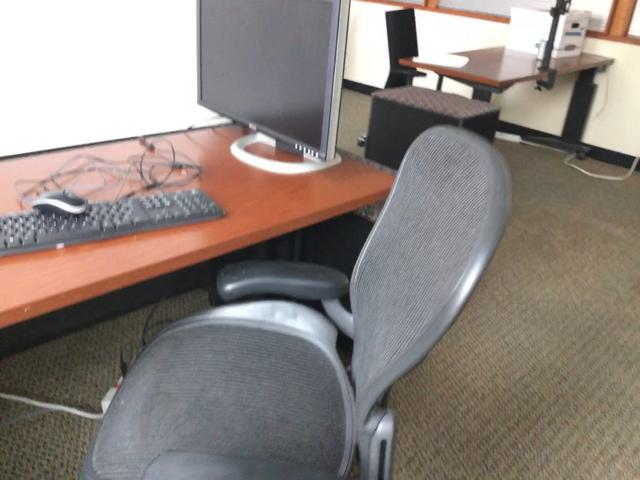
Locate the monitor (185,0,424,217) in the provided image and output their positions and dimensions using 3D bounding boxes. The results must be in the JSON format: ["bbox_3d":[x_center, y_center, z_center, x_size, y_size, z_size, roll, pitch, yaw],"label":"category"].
[{"bbox_3d":[-0.080,-0.430,1.500,0.240,0.480,0.610,-22,41,-36],"label":"monitor"}]
